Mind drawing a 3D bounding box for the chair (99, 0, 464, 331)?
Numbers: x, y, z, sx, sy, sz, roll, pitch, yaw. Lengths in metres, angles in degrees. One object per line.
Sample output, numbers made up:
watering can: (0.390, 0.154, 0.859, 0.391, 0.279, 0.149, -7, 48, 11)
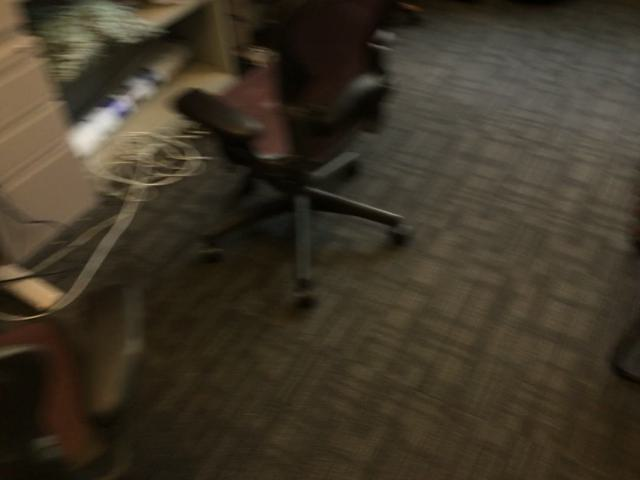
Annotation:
chair: (-0.070, -0.410, 1.660, 0.620, 0.960, 0.690, 30, 53, 32)
